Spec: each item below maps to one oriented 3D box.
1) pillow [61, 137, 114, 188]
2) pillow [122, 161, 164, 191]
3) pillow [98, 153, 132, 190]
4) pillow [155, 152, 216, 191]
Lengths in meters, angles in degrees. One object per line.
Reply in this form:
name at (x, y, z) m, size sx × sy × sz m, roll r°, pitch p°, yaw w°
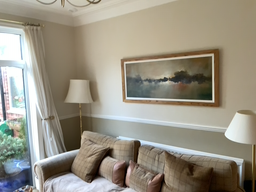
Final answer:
pillow at (-0.540, 0.860, 2.830) m, size 0.490 × 0.510 × 0.220 m, roll 4°, pitch -34°, yaw 36°
pillow at (0.160, 0.930, 2.300) m, size 0.430 × 0.300 × 0.160 m, roll 3°, pitch 7°, yaw 40°
pillow at (-0.160, 0.910, 2.600) m, size 0.380 × 0.300 × 0.190 m, roll 2°, pitch 7°, yaw 36°
pillow at (0.550, 0.870, 2.070) m, size 0.490 × 0.510 × 0.240 m, roll 2°, pitch -5°, yaw 41°
